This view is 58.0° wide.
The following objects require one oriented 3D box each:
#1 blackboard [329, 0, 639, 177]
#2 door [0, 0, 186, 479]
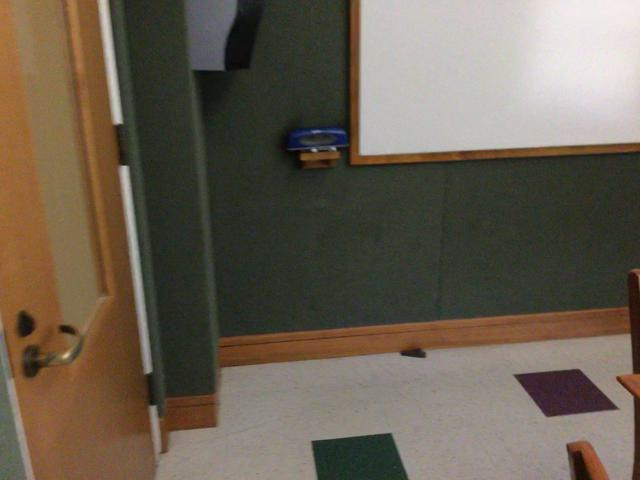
[{"bbox_3d":[0.980,-0.840,2.240,1.870,1.060,0.200,-4,18,-3],"label":"blackboard"},{"bbox_3d":[-0.550,-0.050,1.270,0.160,2.220,0.990,-5,18,-6],"label":"door"}]
